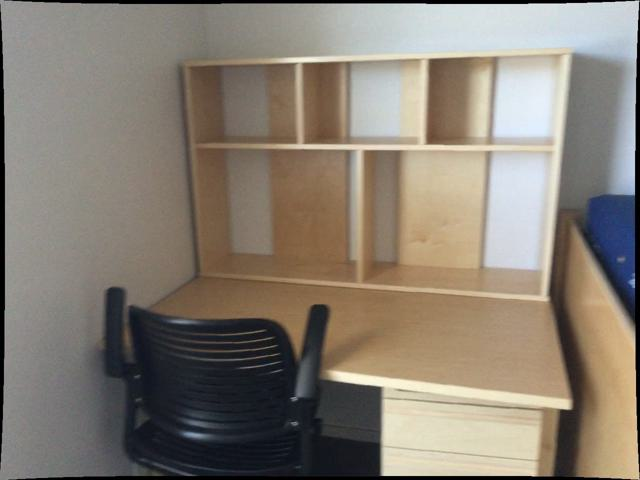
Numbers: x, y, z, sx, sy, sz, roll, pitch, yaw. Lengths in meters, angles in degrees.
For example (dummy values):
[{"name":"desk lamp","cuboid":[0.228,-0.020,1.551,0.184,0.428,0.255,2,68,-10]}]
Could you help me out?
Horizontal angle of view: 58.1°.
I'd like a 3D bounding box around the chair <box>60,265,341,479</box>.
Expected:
[{"name":"chair","cuboid":[-0.280,0.591,1.640,0.589,0.941,0.400,1,15,15]}]
